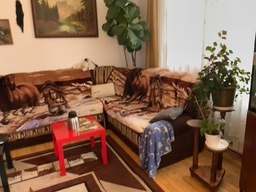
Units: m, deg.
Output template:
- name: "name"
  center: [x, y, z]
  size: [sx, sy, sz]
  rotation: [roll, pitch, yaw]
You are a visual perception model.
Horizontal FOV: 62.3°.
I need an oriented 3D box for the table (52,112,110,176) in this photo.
- name: "table"
  center: [-0.620, 0.560, 2.700]
  size: [0.550, 0.450, 0.680]
  rotation: [-9, 17, -23]
